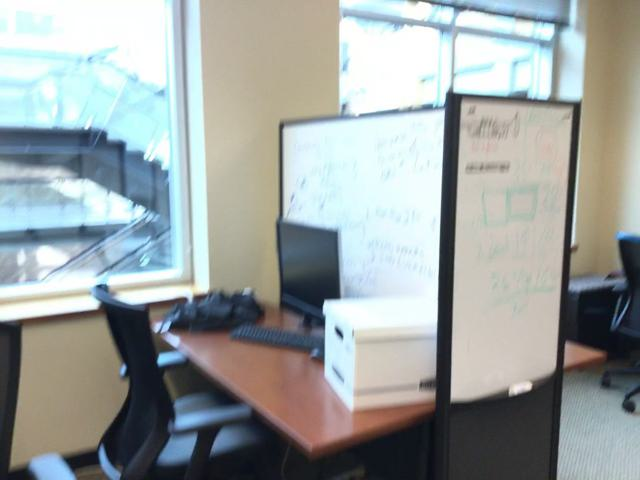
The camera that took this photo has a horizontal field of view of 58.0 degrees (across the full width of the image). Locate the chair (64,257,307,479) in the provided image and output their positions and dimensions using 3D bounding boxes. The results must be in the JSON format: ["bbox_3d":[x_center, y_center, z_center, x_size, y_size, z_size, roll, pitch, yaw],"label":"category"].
[{"bbox_3d":[-0.480,0.650,2.030,0.630,1.050,0.660,-6,8,-27],"label":"chair"}]

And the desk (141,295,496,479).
[{"bbox_3d":[-0.140,0.790,2.410,0.820,0.760,1.550,-6,8,-28],"label":"desk"}]

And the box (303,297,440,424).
[{"bbox_3d":[0.160,0.380,1.940,0.270,0.270,0.410,-6,8,-28],"label":"box"}]

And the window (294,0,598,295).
[{"bbox_3d":[0.940,-0.710,3.880,2.170,1.810,0.440,-6,8,-28],"label":"window"}]
